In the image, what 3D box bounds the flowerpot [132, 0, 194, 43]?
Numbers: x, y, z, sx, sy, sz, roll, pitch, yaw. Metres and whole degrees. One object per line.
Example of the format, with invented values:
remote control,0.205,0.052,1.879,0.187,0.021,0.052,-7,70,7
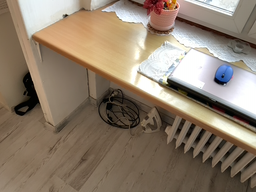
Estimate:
flowerpot,0.180,-0.480,1.060,0.240,0.300,0.170,35,53,22
